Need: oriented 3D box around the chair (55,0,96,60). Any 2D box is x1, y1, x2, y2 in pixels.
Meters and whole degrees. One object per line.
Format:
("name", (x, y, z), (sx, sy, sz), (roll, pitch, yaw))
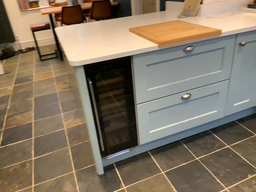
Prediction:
("chair", (-0.990, -1.270, 4.030), (0.490, 0.980, 0.540), (-16, 30, -18))
